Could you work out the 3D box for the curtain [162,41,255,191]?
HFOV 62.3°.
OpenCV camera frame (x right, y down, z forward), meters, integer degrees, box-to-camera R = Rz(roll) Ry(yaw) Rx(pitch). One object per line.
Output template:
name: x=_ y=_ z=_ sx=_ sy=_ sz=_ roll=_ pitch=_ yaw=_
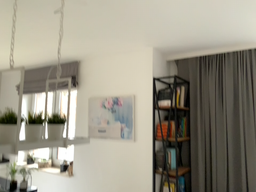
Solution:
curtain: x=1.030 y=0.770 z=2.600 sx=1.260 sy=2.740 sz=0.160 roll=-3 pitch=-7 yaw=32
